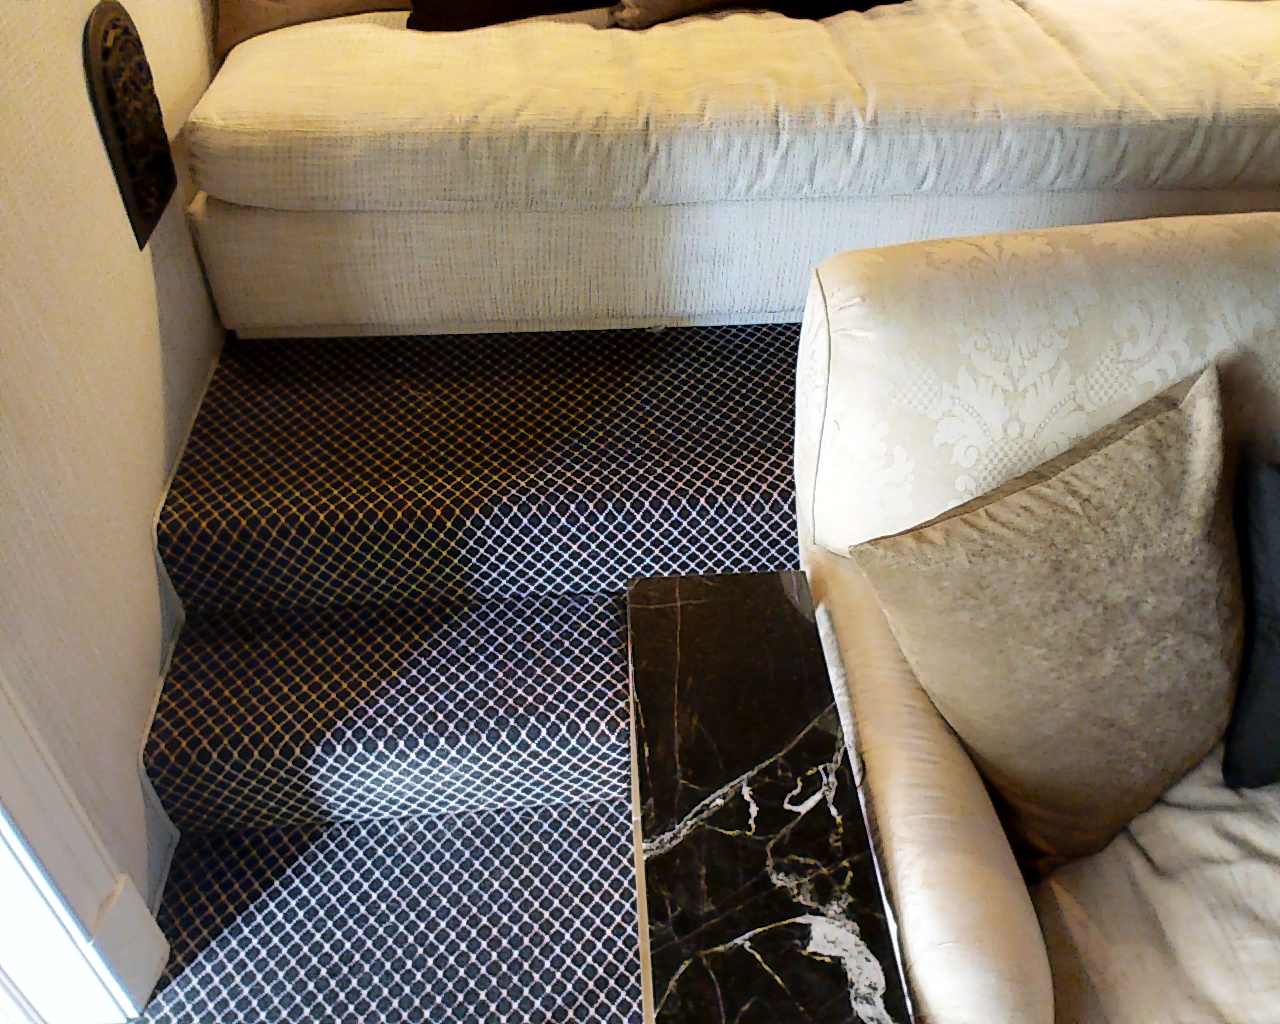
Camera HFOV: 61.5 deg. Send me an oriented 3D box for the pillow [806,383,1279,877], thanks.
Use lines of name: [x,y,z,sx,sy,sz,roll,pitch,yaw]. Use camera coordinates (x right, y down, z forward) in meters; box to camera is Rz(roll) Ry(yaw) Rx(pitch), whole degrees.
pillow: [0.530,0.110,1.360,0.550,0.460,0.250,-12,13,-23]
